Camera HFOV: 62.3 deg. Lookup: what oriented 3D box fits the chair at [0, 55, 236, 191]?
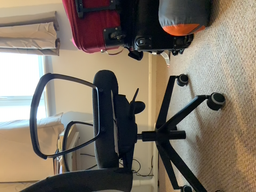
[{"bbox_3d":[-0.320,0.270,0.990,0.630,1.260,0.640,99,169,-63],"label":"chair"}]
